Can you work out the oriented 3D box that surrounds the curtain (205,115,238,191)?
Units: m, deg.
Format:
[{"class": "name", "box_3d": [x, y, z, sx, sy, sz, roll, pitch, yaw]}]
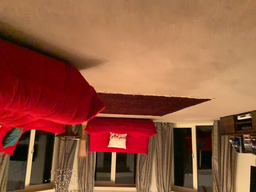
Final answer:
[{"class": "curtain", "box_3d": [1.960, 1.390, 4.470, 0.270, 1.930, 0.510, 12, 165, -42]}]

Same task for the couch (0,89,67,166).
[{"class": "couch", "box_3d": [-1.840, 0.520, 3.390, 1.200, 0.830, 2.190, 2, 169, -4]}]

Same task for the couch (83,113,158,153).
[{"class": "couch", "box_3d": [-0.180, 0.900, 5.140, 1.610, 0.830, 1.050, 2, 169, -3]}]

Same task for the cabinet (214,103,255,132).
[{"class": "cabinet", "box_3d": [2.010, 0.370, 3.360, 0.620, 0.340, 1.580, 2, 169, -1]}]
